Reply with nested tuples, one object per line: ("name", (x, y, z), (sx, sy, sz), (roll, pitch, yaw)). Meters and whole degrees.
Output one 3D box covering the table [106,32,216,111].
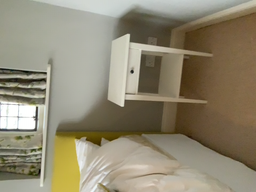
("table", (0.230, -0.170, 1.690), (0.480, 0.670, 0.480), (-162, 76, -69))
